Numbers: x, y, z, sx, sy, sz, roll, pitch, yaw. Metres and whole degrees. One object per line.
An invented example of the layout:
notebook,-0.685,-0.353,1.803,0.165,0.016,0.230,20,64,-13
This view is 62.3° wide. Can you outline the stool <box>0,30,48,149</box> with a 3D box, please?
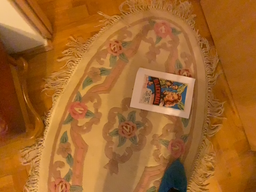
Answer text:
stool,-0.640,0.010,0.830,0.420,0.400,0.430,-17,82,-5
